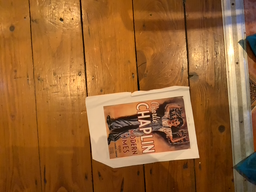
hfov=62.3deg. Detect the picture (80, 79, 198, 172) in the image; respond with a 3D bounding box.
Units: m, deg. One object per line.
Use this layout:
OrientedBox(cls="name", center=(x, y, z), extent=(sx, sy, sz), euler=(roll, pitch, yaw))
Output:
OrientedBox(cls="picture", center=(0.030, 0.080, 0.590), extent=(0.300, 0.010, 0.220), euler=(-7, 90, -1))
